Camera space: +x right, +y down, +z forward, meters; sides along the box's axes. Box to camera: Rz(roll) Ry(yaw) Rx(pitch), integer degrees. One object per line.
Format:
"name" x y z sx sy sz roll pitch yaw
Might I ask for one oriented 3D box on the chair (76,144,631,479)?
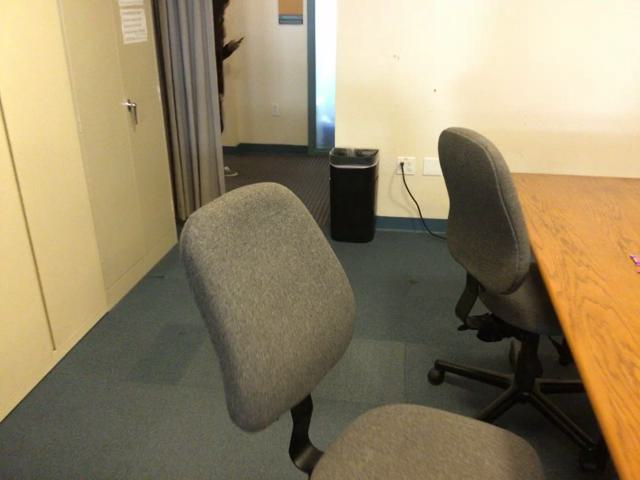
"chair" 0.080 0.400 1.270 0.890 1.070 0.560 10 21 27

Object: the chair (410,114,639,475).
"chair" 0.710 0.150 1.950 0.670 1.050 0.570 -1 19 -2
